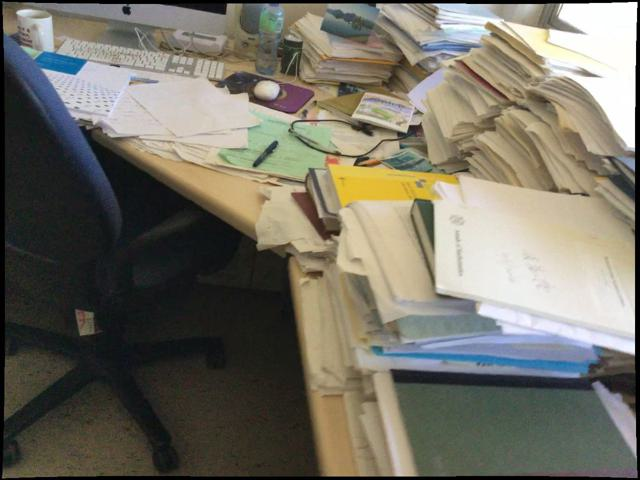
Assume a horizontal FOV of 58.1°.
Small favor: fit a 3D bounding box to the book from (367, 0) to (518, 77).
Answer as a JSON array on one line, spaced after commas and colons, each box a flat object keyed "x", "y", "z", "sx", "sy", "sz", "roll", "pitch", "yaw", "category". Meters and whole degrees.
[{"x": 0.339, "y": -0.622, "z": 1.680, "sx": 0.329, "sy": 0.160, "sz": 0.310, "roll": 3, "pitch": 35, "yaw": -10, "category": "book"}]

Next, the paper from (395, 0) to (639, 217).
[{"x": 0.489, "y": -0.301, "z": 1.290, "sx": 0.509, "sy": 0.311, "sz": 0.400, "roll": 3, "pitch": 34, "yaw": -10, "category": "paper"}]

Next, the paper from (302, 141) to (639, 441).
[{"x": 0.209, "y": 0.050, "z": 0.800, "sx": 0.419, "sy": 0.190, "sz": 0.390, "roll": 3, "pitch": 35, "yaw": -10, "category": "paper"}]
